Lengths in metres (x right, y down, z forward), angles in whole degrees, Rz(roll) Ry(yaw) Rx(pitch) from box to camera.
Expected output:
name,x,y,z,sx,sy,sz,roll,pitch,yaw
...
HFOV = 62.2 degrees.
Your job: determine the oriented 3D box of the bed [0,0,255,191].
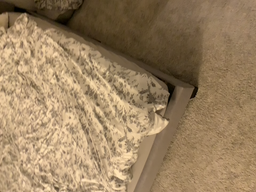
name,x,y,z,sx,sy,sz,roll,pitch,yaw
bed,-0.520,0.310,1.990,2.200,0.570,2.070,32,112,35
